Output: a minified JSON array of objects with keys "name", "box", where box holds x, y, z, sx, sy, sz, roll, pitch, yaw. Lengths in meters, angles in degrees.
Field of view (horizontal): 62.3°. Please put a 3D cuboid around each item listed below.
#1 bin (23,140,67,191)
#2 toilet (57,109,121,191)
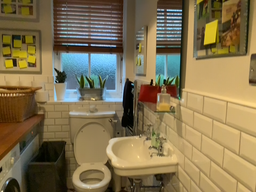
[{"name":"bin","box":[-0.770,0.830,2.060,0.240,0.600,0.630,0,7,-8]},{"name":"toilet","box":[-0.370,0.650,2.090,0.500,0.920,0.690,0,7,-9]}]
